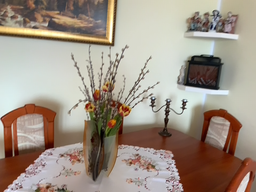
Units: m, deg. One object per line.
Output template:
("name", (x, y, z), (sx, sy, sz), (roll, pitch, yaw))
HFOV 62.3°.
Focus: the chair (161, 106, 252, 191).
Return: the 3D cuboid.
("chair", (0.620, 0.640, 1.770), (0.540, 1.010, 0.360), (-4, 15, -37))
